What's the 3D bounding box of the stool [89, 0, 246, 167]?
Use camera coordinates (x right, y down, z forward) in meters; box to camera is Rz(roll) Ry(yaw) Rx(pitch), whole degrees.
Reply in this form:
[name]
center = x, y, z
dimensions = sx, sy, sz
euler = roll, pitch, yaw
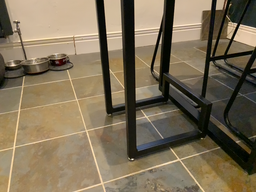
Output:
[stool]
center = 0.100, -0.160, 0.850
dimensions = 0.400, 0.690, 0.400
euler = -10, 31, -16
